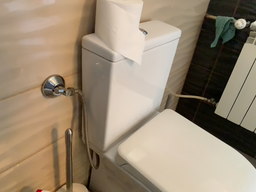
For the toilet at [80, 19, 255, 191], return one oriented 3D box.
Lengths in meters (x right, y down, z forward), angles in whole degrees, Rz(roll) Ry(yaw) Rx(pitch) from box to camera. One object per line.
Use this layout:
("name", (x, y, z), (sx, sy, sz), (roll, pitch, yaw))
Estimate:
("toilet", (0.180, 0.220, 0.790), (0.610, 0.790, 0.380), (30, 39, 27))
